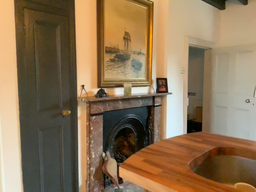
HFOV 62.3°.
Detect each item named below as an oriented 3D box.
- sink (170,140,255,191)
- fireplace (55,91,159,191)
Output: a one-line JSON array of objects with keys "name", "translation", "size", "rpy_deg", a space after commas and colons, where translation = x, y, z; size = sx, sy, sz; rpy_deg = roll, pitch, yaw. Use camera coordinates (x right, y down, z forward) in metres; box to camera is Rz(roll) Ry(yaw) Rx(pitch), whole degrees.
[{"name": "sink", "translation": [0.440, 0.350, 0.840], "size": [0.370, 0.180, 0.420], "rpy_deg": [5, 8, 44]}, {"name": "fireplace", "translation": [-0.170, 0.520, 2.730], "size": [0.400, 1.060, 1.400], "rpy_deg": [5, 8, 43]}]
